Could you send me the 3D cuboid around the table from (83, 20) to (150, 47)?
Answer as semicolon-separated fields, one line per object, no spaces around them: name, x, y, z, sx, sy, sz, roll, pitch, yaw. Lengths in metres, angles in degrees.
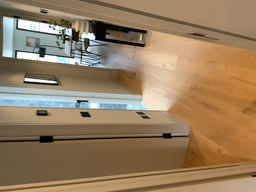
table;-0.230;-1.030;3.520;0.870;0.840;0.250;-143;59;-62
